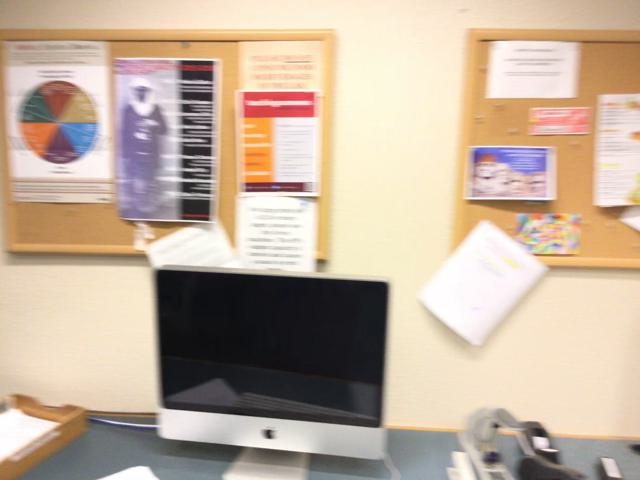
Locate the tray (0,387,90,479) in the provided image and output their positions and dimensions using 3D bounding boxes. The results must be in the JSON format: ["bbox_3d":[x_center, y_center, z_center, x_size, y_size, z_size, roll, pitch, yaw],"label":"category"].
[{"bbox_3d":[-0.840,0.510,1.490,0.280,0.090,0.410,5,6,11],"label":"tray"}]

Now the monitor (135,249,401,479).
[{"bbox_3d":[-0.120,0.300,1.410,0.570,0.490,0.230,4,6,1],"label":"monitor"}]
